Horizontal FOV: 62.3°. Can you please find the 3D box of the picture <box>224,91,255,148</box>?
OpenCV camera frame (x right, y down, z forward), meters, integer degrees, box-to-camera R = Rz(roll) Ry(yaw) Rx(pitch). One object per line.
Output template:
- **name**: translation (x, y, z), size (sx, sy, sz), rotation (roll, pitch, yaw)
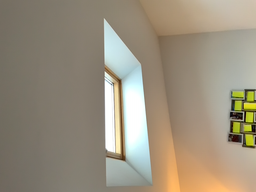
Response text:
- **picture**: translation (1.420, 0.270, 2.490), size (0.060, 0.470, 0.650), rotation (38, -120, -57)
